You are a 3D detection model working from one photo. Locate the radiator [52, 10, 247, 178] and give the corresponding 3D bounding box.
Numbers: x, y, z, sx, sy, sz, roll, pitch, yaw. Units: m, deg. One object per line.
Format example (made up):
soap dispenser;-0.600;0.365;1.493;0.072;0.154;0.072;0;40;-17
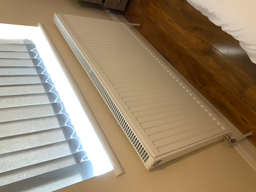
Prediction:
radiator;0.090;-0.160;1.350;1.210;0.760;0.070;54;133;32
